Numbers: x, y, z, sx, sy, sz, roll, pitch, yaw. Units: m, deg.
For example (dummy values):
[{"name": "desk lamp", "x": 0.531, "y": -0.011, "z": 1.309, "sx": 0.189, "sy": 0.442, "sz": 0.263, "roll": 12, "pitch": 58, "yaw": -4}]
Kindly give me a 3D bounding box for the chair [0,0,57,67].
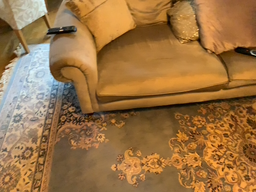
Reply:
[{"name": "chair", "x": -1.200, "y": -0.870, "z": 1.920, "sx": 0.660, "sy": 0.950, "sz": 0.520, "roll": 17, "pitch": 50, "yaw": 17}]
